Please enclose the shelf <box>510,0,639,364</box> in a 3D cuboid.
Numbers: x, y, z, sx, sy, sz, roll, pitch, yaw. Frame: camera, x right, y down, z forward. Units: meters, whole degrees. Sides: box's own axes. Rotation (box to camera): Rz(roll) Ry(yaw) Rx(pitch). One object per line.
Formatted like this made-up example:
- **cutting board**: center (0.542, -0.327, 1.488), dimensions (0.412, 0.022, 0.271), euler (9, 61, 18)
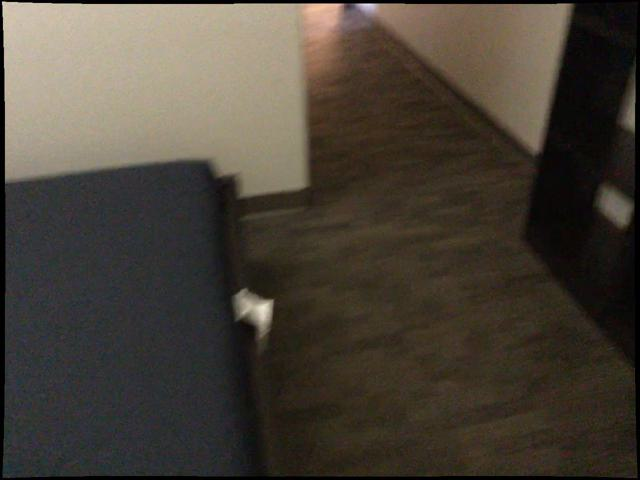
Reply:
- **shelf**: center (1.029, -0.280, 1.520), dimensions (0.380, 1.191, 1.090), euler (-10, 35, -9)
